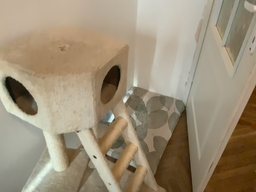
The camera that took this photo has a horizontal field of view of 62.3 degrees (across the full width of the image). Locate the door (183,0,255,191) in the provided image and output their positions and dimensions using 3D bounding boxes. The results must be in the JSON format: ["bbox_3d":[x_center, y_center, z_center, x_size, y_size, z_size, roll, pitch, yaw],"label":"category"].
[{"bbox_3d":[0.540,-0.440,0.960,0.120,2.110,0.890,7,39,6],"label":"door"}]
